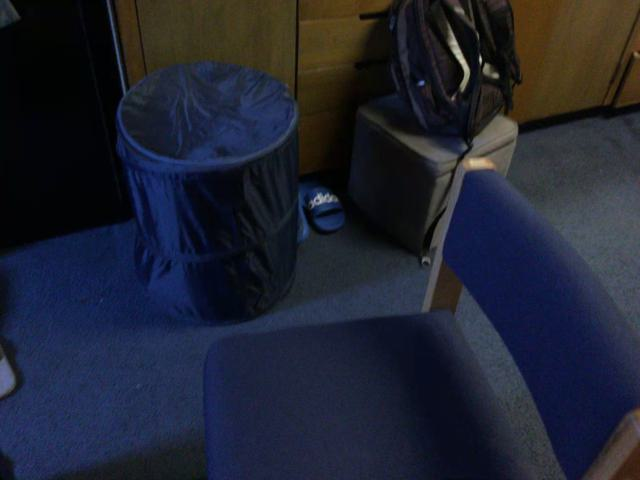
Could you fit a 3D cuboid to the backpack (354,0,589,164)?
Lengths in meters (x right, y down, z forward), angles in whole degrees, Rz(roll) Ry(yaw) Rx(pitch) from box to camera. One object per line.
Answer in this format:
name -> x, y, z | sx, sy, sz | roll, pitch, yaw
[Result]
backpack -> 0.440, -0.590, 1.750 | 0.480, 0.420, 0.450 | 33, 51, 32
